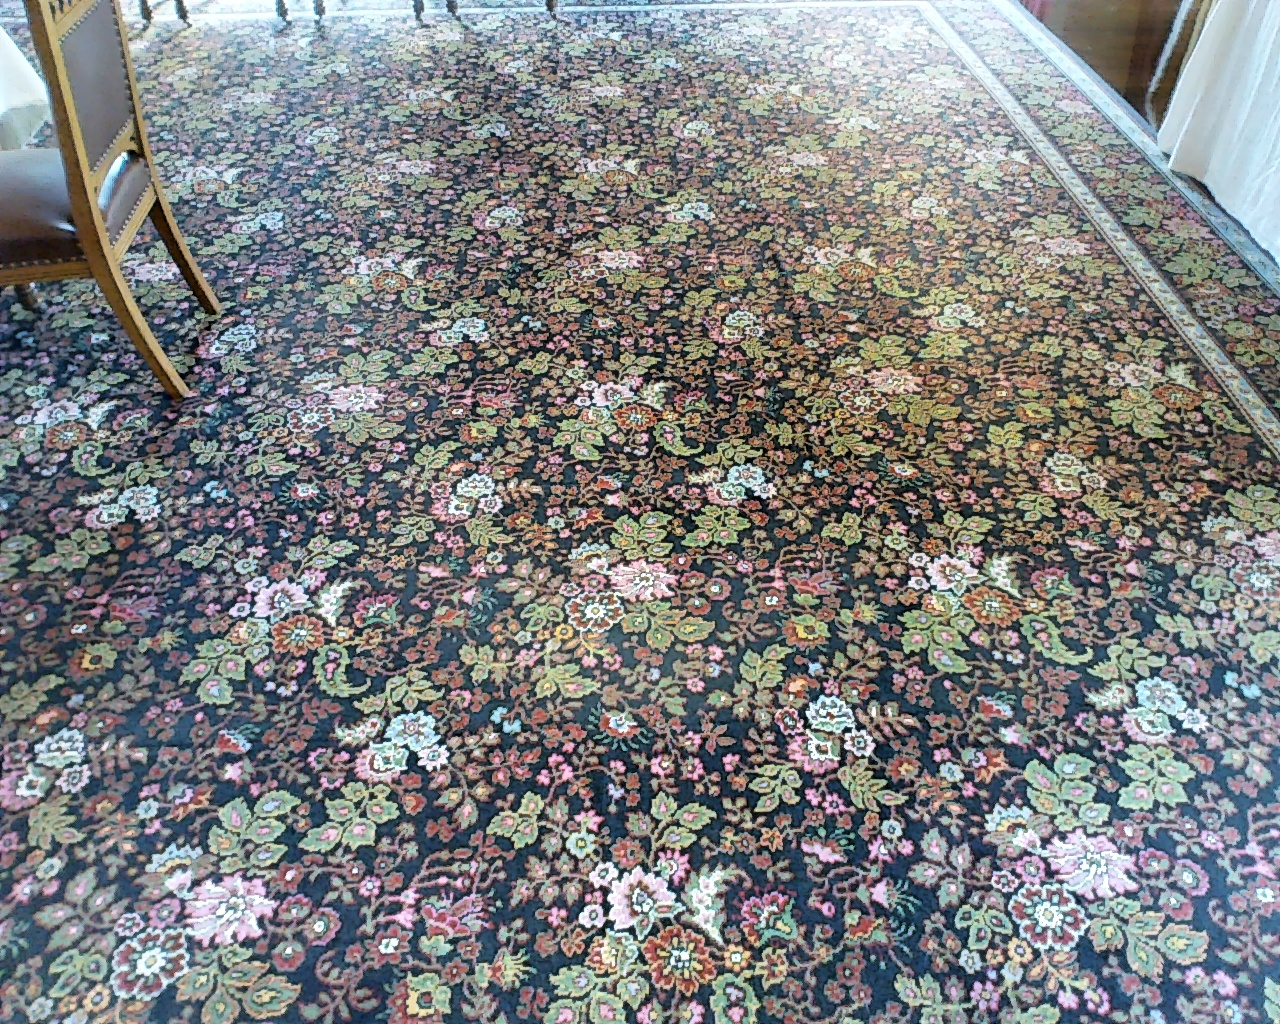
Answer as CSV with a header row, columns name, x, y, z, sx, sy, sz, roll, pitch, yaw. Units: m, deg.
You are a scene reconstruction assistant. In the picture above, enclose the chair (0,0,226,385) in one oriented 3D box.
name,x,y,z,sx,sy,sz,roll,pitch,yaw
chair,-1.450,-0.860,2.530,0.560,0.950,0.570,-2,42,-2
